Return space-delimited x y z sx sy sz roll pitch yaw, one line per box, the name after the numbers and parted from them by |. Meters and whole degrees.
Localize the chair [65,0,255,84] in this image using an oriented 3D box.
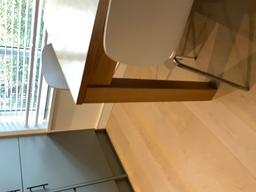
0.200 -0.350 0.900 0.430 0.780 0.430 47 129 49 | chair
